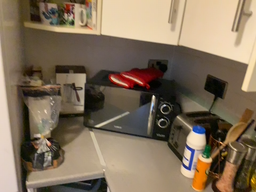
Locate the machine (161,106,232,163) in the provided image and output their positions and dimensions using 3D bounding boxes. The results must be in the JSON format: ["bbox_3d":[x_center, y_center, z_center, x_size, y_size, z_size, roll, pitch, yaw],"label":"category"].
[{"bbox_3d":[0.310,0.170,0.990,0.240,0.180,0.160,-2,22,-20],"label":"machine"}]

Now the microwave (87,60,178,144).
[{"bbox_3d":[0.040,0.000,1.190,0.390,0.290,0.370,12,22,15],"label":"microwave"}]
